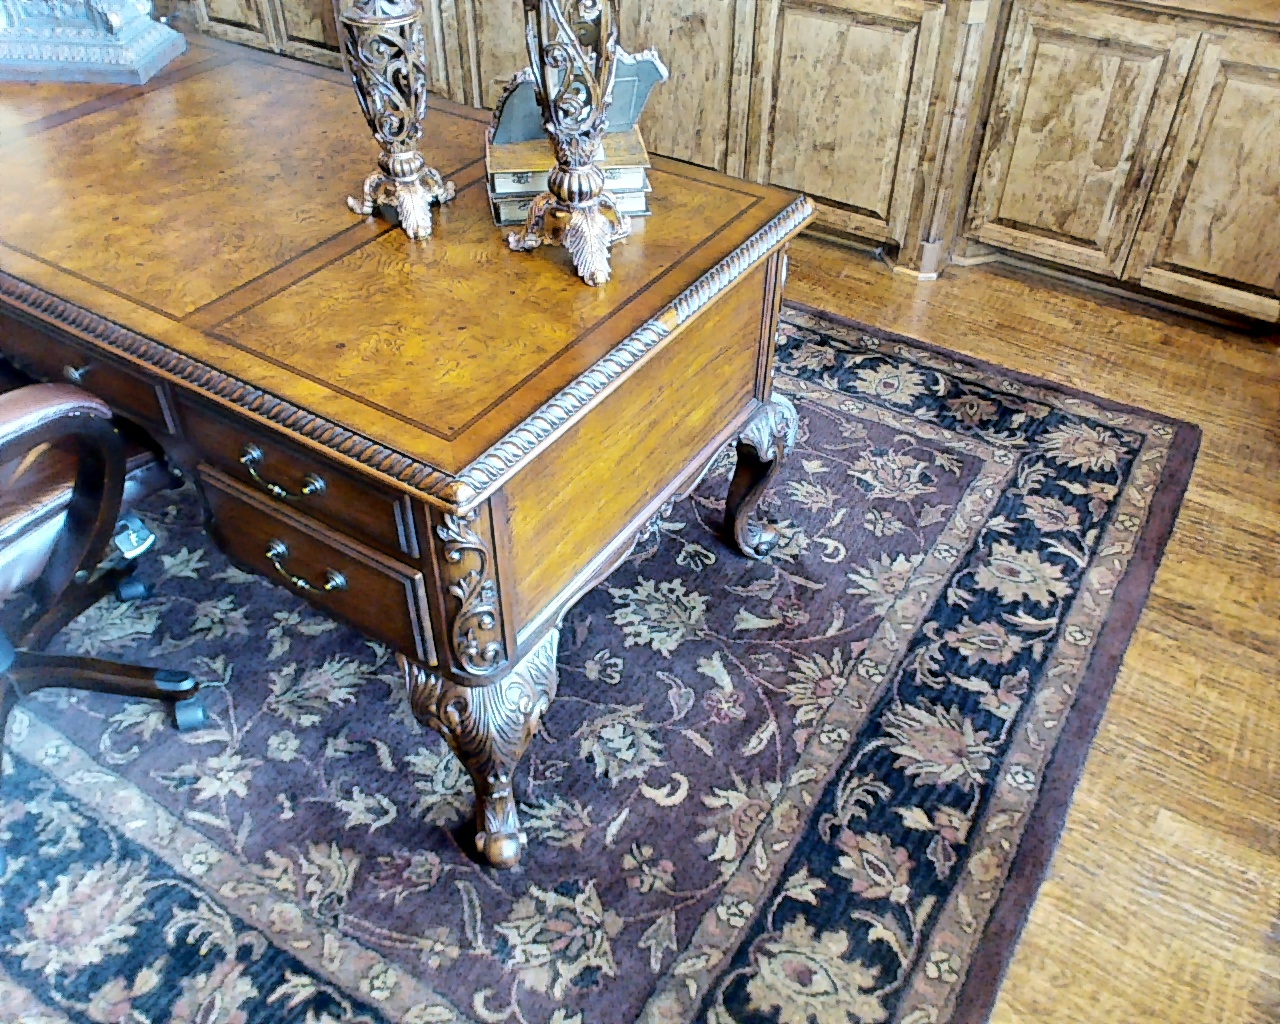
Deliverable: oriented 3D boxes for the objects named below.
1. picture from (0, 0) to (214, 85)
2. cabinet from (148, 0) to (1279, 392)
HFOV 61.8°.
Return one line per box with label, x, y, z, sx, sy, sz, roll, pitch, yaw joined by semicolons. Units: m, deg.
picture;-1.120;-1.100;2.030;0.420;0.470;0.260;1;42;1
cabinet;0.070;-1.570;3.490;4.430;0.850;0.660;24;47;24
